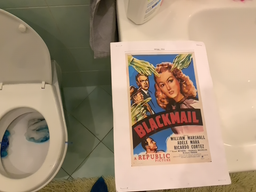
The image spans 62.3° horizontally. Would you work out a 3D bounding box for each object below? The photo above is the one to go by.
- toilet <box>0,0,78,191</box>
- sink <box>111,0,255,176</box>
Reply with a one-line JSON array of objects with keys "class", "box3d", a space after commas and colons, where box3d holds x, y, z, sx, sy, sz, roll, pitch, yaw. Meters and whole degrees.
[{"class": "toilet", "box3d": [-0.470, 0.080, 0.870, 0.370, 0.840, 0.540, -2, 75, -4]}, {"class": "sink", "box3d": [0.380, -0.100, 0.540, 0.810, 0.130, 0.480, -4, 75, -5]}]
